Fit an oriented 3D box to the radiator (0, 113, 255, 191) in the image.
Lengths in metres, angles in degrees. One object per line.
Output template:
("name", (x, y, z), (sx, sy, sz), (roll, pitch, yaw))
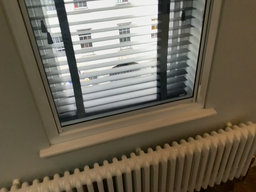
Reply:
("radiator", (0.110, 0.490, 1.180), (1.550, 0.530, 0.140), (-11, 34, -11))
